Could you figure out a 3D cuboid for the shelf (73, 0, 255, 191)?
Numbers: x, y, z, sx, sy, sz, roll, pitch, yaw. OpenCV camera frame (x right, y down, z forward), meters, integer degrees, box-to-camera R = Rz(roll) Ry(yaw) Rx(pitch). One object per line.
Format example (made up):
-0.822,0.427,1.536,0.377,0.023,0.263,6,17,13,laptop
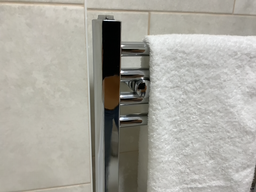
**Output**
0.100,0.410,0.590,0.420,1.290,0.040,-4,19,-17,shelf
